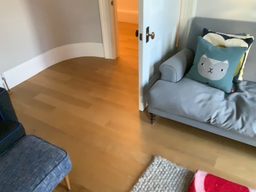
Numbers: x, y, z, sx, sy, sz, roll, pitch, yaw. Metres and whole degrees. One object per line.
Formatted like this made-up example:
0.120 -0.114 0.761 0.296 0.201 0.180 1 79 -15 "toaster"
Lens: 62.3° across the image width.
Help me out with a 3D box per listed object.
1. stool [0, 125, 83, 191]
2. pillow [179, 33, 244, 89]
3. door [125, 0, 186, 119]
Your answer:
-0.640 0.550 1.230 0.410 0.370 0.590 17 40 25 "stool"
0.700 -0.300 1.800 0.400 0.360 0.170 20 3 31 "pillow"
0.290 -0.940 1.830 0.140 2.250 0.940 19 41 27 "door"
